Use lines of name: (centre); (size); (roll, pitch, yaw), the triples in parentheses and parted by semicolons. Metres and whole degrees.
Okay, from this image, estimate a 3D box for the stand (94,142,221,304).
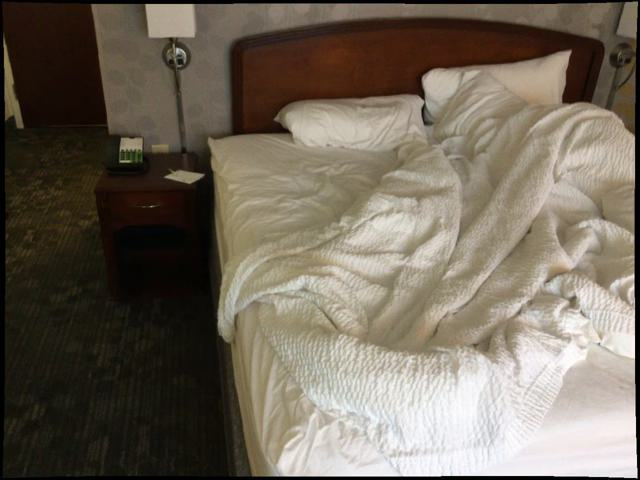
stand: (-0.699, -0.090, 2.580); (0.460, 0.550, 0.450); (-3, 30, -12)
